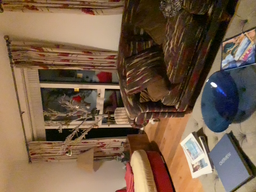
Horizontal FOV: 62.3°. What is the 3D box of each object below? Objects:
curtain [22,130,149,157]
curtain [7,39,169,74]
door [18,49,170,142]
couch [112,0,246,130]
[{"bbox_3d":[-0.730,0.880,3.960,0.180,2.210,0.420,-106,21,-51],"label":"curtain"},{"bbox_3d":[-0.470,-0.520,2.930,0.090,2.100,0.360,-107,22,-52],"label":"curtain"},{"bbox_3d":[-0.520,0.100,3.510,0.090,2.120,1.710,-106,21,-51],"label":"door"},{"bbox_3d":[0.420,-0.970,2.130,1.190,0.770,2.450,-106,22,-53],"label":"couch"}]
